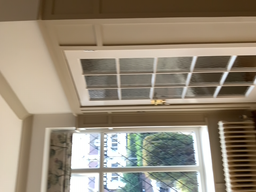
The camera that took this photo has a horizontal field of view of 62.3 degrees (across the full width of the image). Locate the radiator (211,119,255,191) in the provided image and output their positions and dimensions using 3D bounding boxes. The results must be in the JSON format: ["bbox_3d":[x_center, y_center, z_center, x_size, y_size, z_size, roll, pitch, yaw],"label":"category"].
[{"bbox_3d":[1.270,0.980,2.330,0.140,0.450,1.450,91,178,-70],"label":"radiator"}]

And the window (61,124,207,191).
[{"bbox_3d":[0.070,1.150,2.530,0.200,1.670,1.600,91,178,-72],"label":"window"}]
